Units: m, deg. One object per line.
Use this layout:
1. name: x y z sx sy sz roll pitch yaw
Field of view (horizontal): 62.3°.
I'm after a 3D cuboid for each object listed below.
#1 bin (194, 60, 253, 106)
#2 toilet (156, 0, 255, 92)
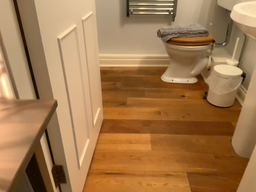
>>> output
1. bin: 0.740 -0.110 1.700 0.310 0.280 0.260 1 31 1
2. toilet: 0.610 -0.570 1.830 0.630 0.940 0.500 1 31 1
